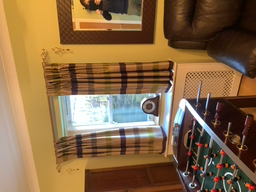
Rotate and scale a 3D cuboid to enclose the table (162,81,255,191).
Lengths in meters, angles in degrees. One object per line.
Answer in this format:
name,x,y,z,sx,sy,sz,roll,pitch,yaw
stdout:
table,0.960,0.570,1.630,1.640,0.840,0.860,-114,23,-65
